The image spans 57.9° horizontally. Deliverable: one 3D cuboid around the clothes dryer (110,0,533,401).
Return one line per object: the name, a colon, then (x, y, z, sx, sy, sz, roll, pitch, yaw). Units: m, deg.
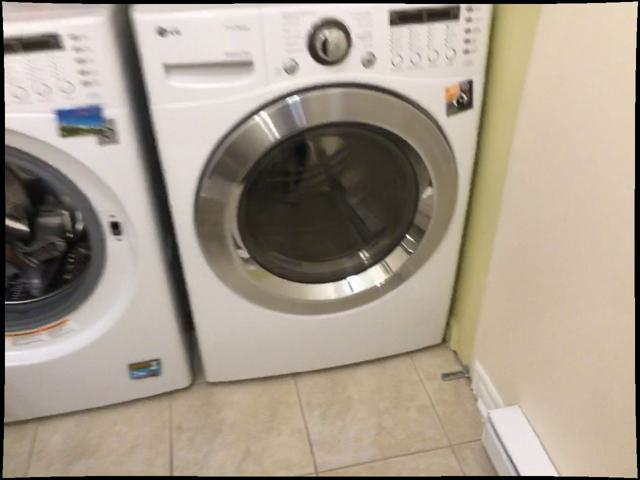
clothes dryer: (-0.060, -0.270, 1.630, 0.749, 0.971, 0.870, -8, 38, -9)
